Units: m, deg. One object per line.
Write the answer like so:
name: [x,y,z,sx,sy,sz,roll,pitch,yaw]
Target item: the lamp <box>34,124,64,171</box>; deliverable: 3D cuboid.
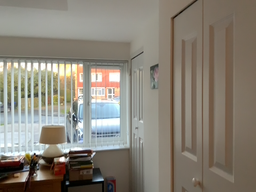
lamp: [-0.880,0.560,2.390,0.290,0.450,0.240,-1,1,-15]
